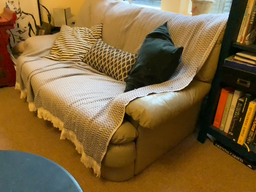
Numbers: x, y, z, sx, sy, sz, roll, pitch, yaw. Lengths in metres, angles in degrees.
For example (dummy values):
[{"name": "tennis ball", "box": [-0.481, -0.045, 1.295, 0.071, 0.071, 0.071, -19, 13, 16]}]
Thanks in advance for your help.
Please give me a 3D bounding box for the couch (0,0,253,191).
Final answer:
[{"name": "couch", "box": [-0.230, -0.270, 1.670, 1.040, 0.820, 1.680, -21, 36, -36]}]
